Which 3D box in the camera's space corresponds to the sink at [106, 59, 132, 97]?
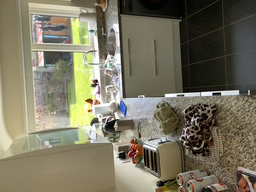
[{"bbox_3d":[-0.130,-0.230,2.830,0.440,0.180,0.460,-175,83,-68],"label":"sink"}]
